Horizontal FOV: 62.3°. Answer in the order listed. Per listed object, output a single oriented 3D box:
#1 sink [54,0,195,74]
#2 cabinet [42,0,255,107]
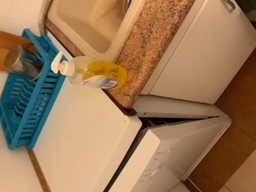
[{"bbox_3d":[-0.030,-0.340,0.740,0.420,0.200,0.330,45,114,36],"label":"sink"},{"bbox_3d":[0.260,-0.450,0.920,0.530,0.840,0.810,45,114,36],"label":"cabinet"}]
